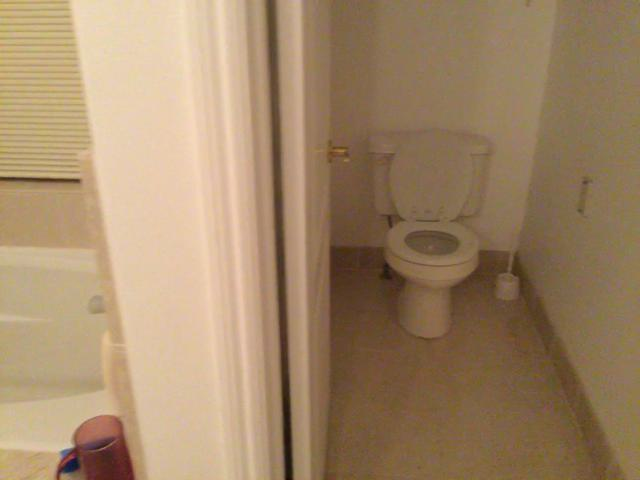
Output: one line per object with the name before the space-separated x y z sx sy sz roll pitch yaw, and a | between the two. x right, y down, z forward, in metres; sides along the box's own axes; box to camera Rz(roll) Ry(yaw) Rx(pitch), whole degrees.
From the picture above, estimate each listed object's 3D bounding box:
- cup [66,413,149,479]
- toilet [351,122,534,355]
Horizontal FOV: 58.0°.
cup | -0.370 0.390 1.020 0.090 0.130 0.090 2 25 5
toilet | 0.440 -0.040 2.370 0.590 0.730 0.660 2 25 5
